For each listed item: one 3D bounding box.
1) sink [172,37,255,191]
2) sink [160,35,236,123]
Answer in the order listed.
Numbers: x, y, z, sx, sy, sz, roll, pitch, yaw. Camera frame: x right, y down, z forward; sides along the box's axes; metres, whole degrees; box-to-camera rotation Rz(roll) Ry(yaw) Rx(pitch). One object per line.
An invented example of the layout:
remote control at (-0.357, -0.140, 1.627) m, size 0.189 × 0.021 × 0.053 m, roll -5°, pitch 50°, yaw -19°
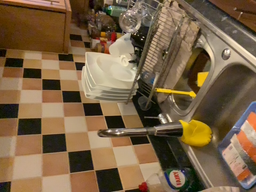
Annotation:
sink at (0.410, 0.130, 0.750) m, size 0.420 × 0.160 × 0.500 m, roll -113°, pitch 32°, yaw -44°
sink at (0.290, -0.070, 0.960) m, size 0.210 × 0.110 × 0.330 m, roll -113°, pitch 32°, yaw -44°
